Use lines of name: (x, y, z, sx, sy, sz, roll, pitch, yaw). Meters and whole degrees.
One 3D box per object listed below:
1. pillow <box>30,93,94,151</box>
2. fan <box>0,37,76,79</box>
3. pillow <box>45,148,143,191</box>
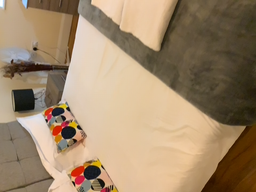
pillow: (-0.650, 0.230, 2.080, 0.590, 0.270, 0.180, 40, 113, 20)
fan: (-1.330, -0.530, 3.050, 0.420, 0.980, 0.380, 52, 131, 36)
pillow: (-0.230, 0.680, 1.570, 0.670, 0.330, 0.150, 29, 106, 16)
